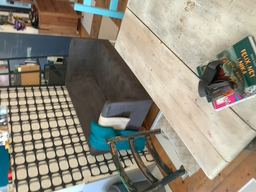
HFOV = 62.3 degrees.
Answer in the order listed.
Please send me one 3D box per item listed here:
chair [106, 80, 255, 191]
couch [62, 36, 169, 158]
[{"bbox_3d":[0.370,0.220,1.330,0.420,0.840,0.440,58,140,38],"label":"chair"},{"bbox_3d":[-0.260,-0.070,2.520,1.240,0.690,0.730,56,139,40],"label":"couch"}]
